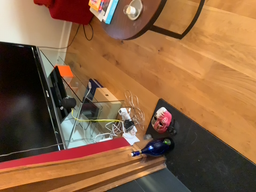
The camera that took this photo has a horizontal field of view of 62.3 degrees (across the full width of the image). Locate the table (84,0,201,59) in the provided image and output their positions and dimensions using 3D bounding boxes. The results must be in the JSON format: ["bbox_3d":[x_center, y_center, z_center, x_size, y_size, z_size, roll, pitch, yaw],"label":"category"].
[{"bbox_3d":[0.100,-0.700,1.450,0.660,0.380,0.650,40,120,38],"label":"table"}]

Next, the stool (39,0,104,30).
[{"bbox_3d":[-0.590,-1.050,2.130,0.490,0.430,0.480,-38,65,41],"label":"stool"}]
